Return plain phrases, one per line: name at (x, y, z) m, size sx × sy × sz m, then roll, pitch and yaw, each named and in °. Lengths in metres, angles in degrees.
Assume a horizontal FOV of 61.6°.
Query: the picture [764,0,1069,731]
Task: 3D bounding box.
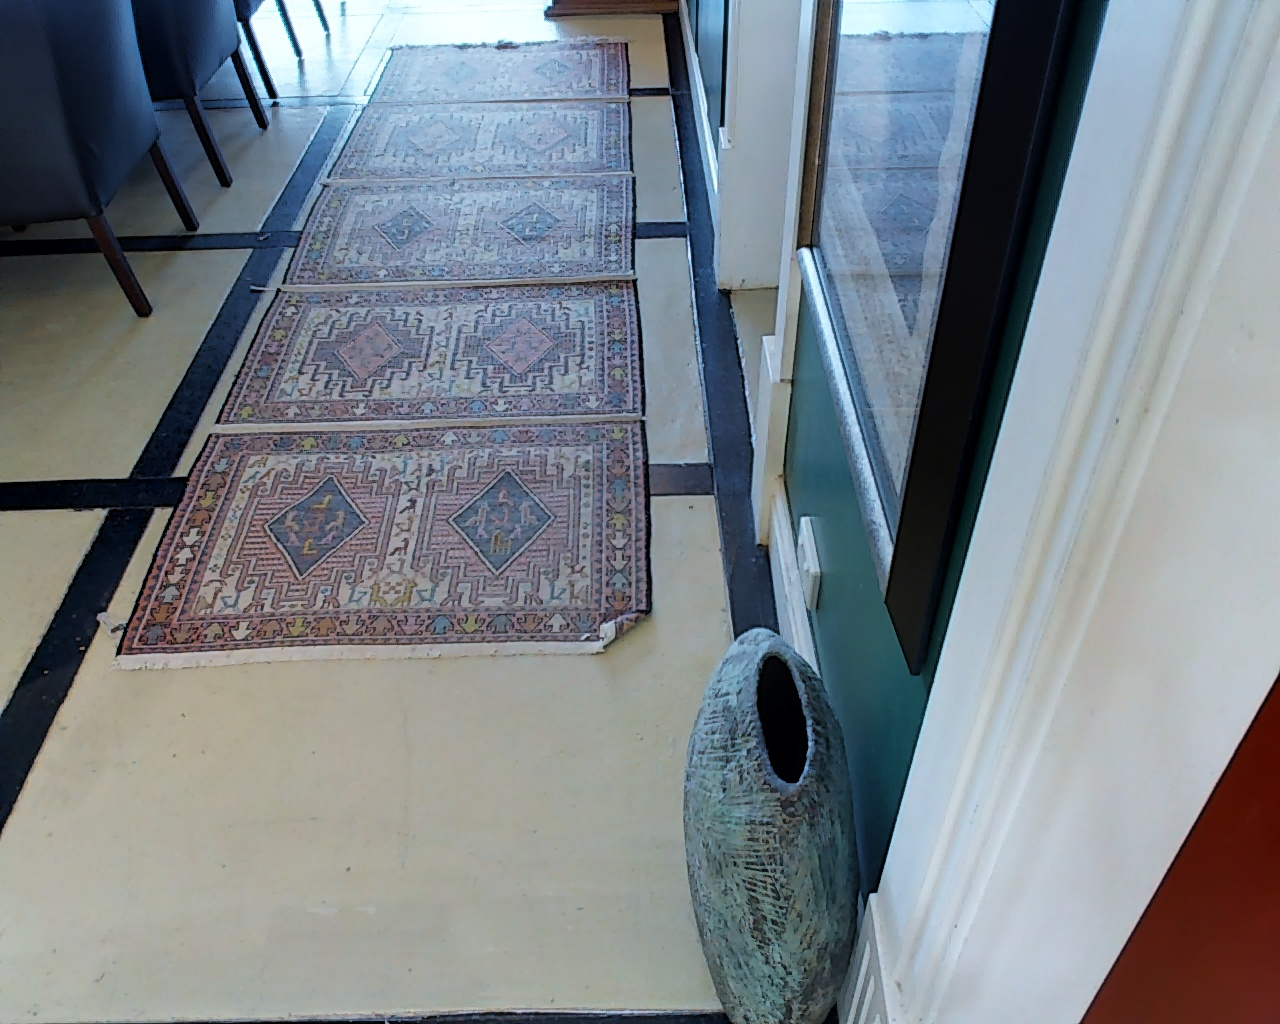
picture at (0.190, -0.690, 0.690) m, size 0.040 × 1.650 × 0.770 m, roll -1°, pitch 40°, yaw 0°
